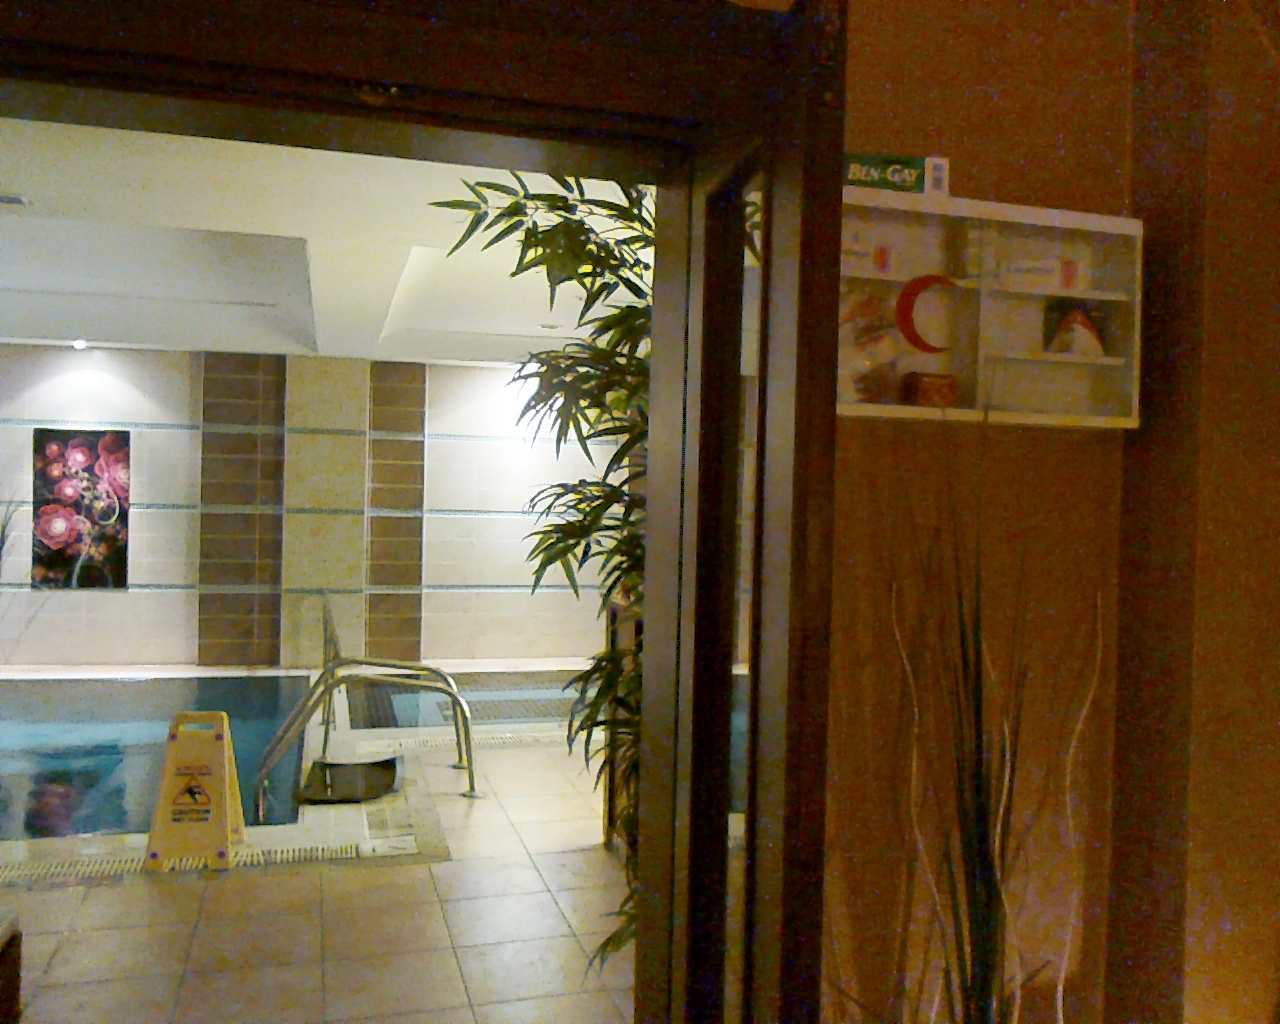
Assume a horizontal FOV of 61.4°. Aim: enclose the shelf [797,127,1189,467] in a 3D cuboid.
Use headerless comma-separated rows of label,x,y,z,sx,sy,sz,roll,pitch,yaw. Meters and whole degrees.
shelf,0.480,-0.270,1.450,0.530,0.400,0.100,1,0,-16
